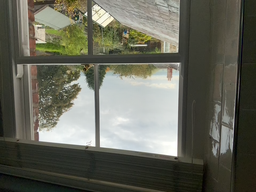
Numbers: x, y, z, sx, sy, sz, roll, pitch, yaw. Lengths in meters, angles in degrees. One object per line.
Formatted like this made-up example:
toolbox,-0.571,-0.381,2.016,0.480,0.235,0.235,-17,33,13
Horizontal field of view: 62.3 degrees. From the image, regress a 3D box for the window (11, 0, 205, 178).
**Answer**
window,-0.160,-0.230,1.140,1.060,1.210,0.080,2,-173,18
